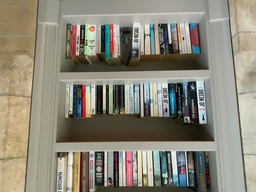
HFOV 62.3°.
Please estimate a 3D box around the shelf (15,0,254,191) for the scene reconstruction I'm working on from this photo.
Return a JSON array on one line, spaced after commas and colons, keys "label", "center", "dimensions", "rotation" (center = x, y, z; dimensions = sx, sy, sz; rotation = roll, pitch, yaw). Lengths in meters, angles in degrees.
[{"label": "shelf", "center": [0.030, 0.510, 1.140], "dimensions": [1.050, 2.160, 0.440], "rotation": [0, 170, 1]}]
